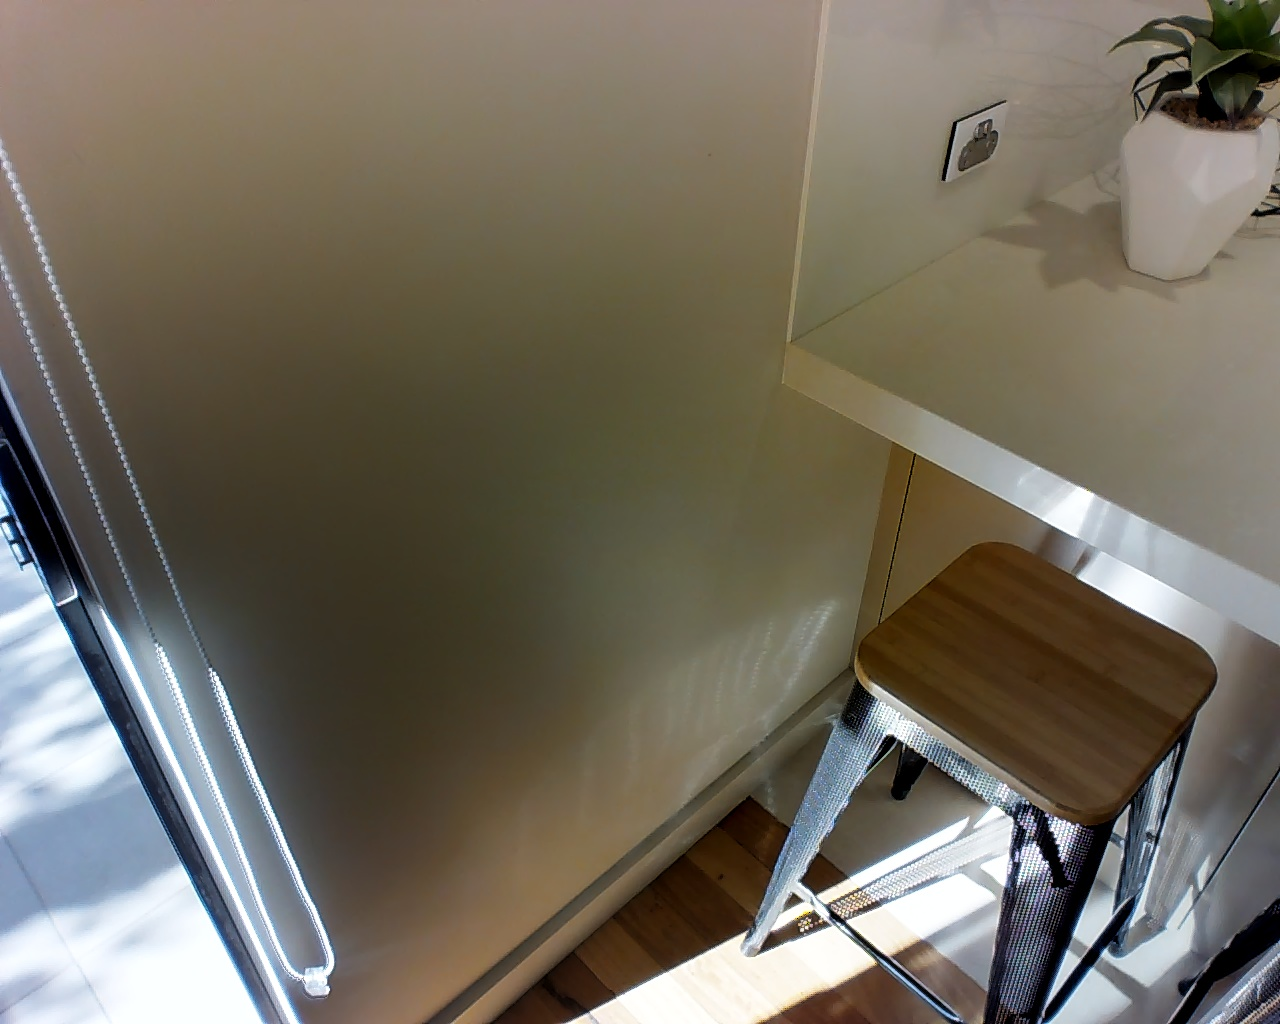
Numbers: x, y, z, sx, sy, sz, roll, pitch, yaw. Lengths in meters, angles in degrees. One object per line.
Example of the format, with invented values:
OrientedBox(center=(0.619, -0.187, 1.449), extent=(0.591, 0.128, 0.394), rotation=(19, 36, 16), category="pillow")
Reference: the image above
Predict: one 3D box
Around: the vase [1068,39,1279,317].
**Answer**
OrientedBox(center=(0.680, -0.410, 1.310), extent=(0.220, 0.250, 0.170), rotation=(16, 43, 18), category="vase")
